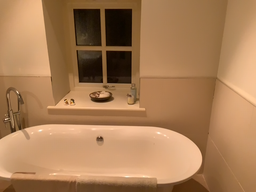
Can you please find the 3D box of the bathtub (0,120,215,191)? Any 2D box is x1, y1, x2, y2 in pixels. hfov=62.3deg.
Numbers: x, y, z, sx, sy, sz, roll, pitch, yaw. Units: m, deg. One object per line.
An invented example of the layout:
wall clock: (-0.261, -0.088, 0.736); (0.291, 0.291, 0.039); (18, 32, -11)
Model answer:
bathtub: (-0.290, 0.710, 1.850); (1.690, 0.640, 0.850); (1, 20, 3)

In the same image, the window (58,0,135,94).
window: (-0.340, -0.570, 2.470); (0.830, 1.120, 0.050); (1, 20, 3)
